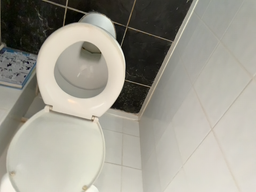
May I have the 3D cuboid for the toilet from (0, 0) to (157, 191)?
[{"bbox_3d":[-0.240,0.010,0.970,0.400,0.820,0.680,15,125,-12],"label":"toilet"}]
